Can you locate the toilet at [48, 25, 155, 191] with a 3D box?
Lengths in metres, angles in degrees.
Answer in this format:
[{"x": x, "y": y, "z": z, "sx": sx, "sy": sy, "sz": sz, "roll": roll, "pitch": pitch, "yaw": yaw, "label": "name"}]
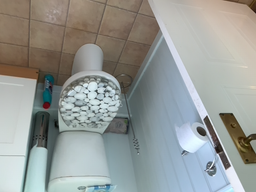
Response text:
[{"x": -0.240, "y": 0.090, "z": 1.330, "sx": 0.410, "sy": 0.740, "sz": 0.670, "roll": 5, "pitch": 138, "yaw": -21, "label": "toilet"}]
